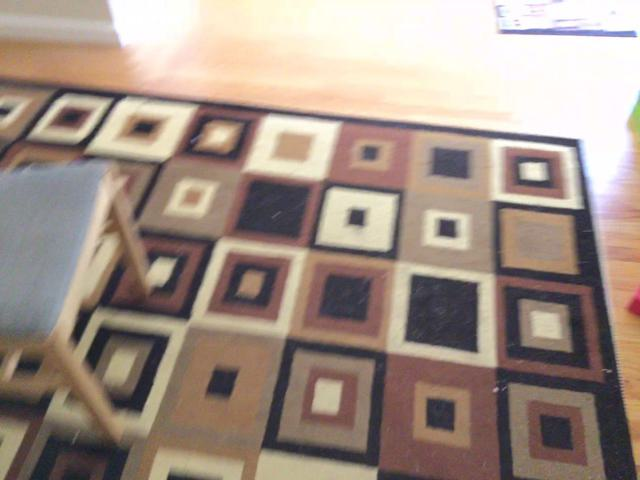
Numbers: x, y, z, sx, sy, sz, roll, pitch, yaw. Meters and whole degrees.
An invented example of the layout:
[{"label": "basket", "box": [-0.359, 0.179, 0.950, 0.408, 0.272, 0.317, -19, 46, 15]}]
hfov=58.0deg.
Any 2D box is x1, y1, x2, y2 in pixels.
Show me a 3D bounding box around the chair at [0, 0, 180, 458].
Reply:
[{"label": "chair", "box": [-0.720, -0.020, 1.080, 0.630, 0.940, 0.500, 2, 51, 3]}]
